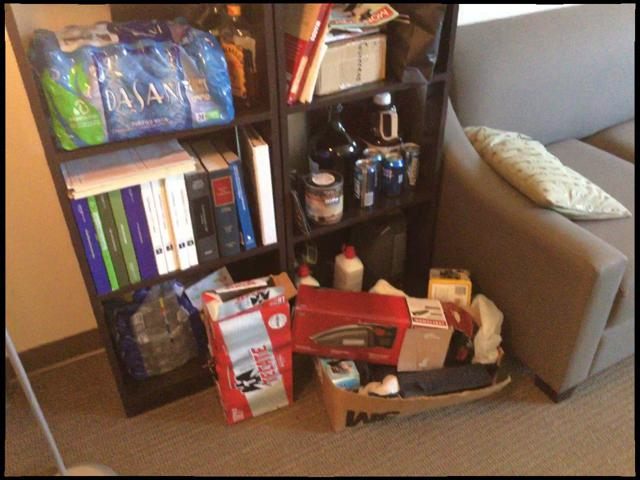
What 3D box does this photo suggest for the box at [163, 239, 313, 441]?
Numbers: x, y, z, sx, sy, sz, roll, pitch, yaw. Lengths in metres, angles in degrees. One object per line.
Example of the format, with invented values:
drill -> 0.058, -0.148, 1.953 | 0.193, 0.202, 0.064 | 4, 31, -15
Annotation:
box -> -0.210, 0.281, 1.600 | 0.300, 0.461, 0.200 | -22, 43, -22

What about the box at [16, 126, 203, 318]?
box -> -0.509, -0.050, 1.430 | 0.320, 0.320, 0.220 | -22, 43, -22

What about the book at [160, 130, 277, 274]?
book -> -0.259, -0.100, 1.520 | 0.220, 0.280, 0.160 | -22, 43, -22

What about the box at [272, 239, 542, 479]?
box -> 0.240, 0.331, 1.700 | 0.589, 0.280, 0.460 | -22, 43, -22
